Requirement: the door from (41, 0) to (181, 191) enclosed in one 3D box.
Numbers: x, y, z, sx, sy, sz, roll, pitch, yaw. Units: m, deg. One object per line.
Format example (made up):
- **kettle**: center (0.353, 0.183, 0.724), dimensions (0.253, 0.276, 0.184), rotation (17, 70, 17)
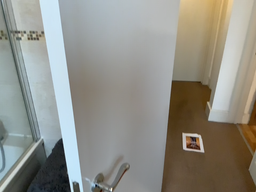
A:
- **door**: center (0.040, 0.120, 0.880), dimensions (0.050, 1.950, 0.770), rotation (14, 29, 24)
